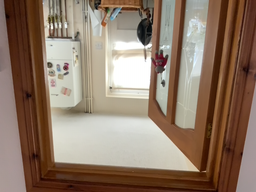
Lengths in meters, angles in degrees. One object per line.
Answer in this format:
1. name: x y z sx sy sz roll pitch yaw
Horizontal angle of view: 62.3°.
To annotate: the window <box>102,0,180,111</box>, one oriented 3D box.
1. window: 0.130 -0.560 2.770 0.910 1.500 0.270 0 -163 -3
